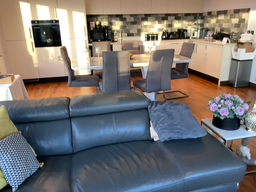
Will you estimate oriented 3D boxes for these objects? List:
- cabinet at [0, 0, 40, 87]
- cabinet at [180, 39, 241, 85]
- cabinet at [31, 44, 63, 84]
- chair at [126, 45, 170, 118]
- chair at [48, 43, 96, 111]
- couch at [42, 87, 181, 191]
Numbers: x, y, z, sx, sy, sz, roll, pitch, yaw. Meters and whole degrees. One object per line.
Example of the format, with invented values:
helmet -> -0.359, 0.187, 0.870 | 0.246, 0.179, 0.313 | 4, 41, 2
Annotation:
cabinet -> -2.650, -1.430, 4.950 | 0.690, 2.290, 0.620 | -6, 19, -14
cabinet -> 1.970, -0.920, 5.330 | 0.620, 0.900, 1.450 | -6, 19, -14
cabinet -> -2.010, -0.830, 5.350 | 0.600, 0.860, 0.600 | -6, 19, -14
chair -> 0.290, -0.260, 3.350 | 0.450, 1.000, 0.620 | -8, 20, -19
chair -> -0.910, -0.340, 3.620 | 0.650, 1.030, 0.440 | -5, 19, -9
couch -> -0.180, 0.440, 1.750 | 0.770, 0.710, 1.030 | -6, 19, -13
